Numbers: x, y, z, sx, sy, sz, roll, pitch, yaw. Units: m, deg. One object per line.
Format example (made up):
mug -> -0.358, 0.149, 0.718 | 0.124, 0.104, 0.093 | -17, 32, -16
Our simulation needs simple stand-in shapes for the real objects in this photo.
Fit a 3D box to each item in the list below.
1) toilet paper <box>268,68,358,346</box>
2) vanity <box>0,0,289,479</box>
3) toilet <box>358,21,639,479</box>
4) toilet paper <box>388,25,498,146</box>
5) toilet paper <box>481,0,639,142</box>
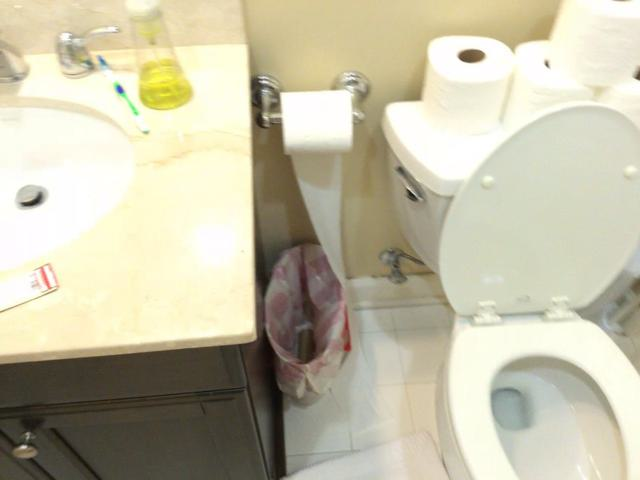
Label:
toilet paper -> -0.010, -0.020, 1.210 | 0.140, 0.670, 0.150 | -4, 49, -2
vanity -> -0.460, 0.140, 1.000 | 0.750, 0.930, 0.630 | -4, 49, -2
toilet -> 0.370, 0.190, 1.030 | 0.490, 0.800, 0.760 | -4, 49, -2
toilet paper -> 0.200, -0.260, 0.980 | 0.140, 0.150, 0.120 | -4, 49, -2
toilet paper -> 0.380, -0.280, 0.890 | 0.190, 0.190, 0.150 | -4, 49, -2
